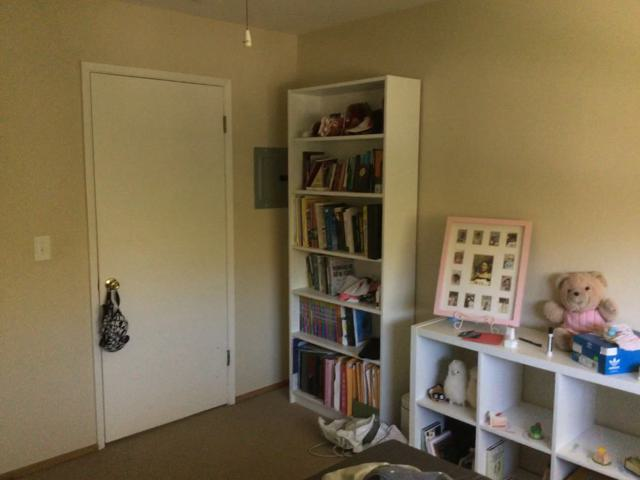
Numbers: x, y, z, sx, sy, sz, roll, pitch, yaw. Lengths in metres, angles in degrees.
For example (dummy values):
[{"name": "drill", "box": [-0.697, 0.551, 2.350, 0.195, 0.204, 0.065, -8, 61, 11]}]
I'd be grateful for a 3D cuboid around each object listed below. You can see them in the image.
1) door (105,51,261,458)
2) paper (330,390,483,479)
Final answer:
[{"name": "door", "box": [-0.740, 0.080, 3.200, 0.830, 2.030, 0.170, -2, 5, -40]}, {"name": "paper", "box": [0.440, 1.030, 3.020, 0.480, 0.210, 0.630, -6, 8, -39]}]
